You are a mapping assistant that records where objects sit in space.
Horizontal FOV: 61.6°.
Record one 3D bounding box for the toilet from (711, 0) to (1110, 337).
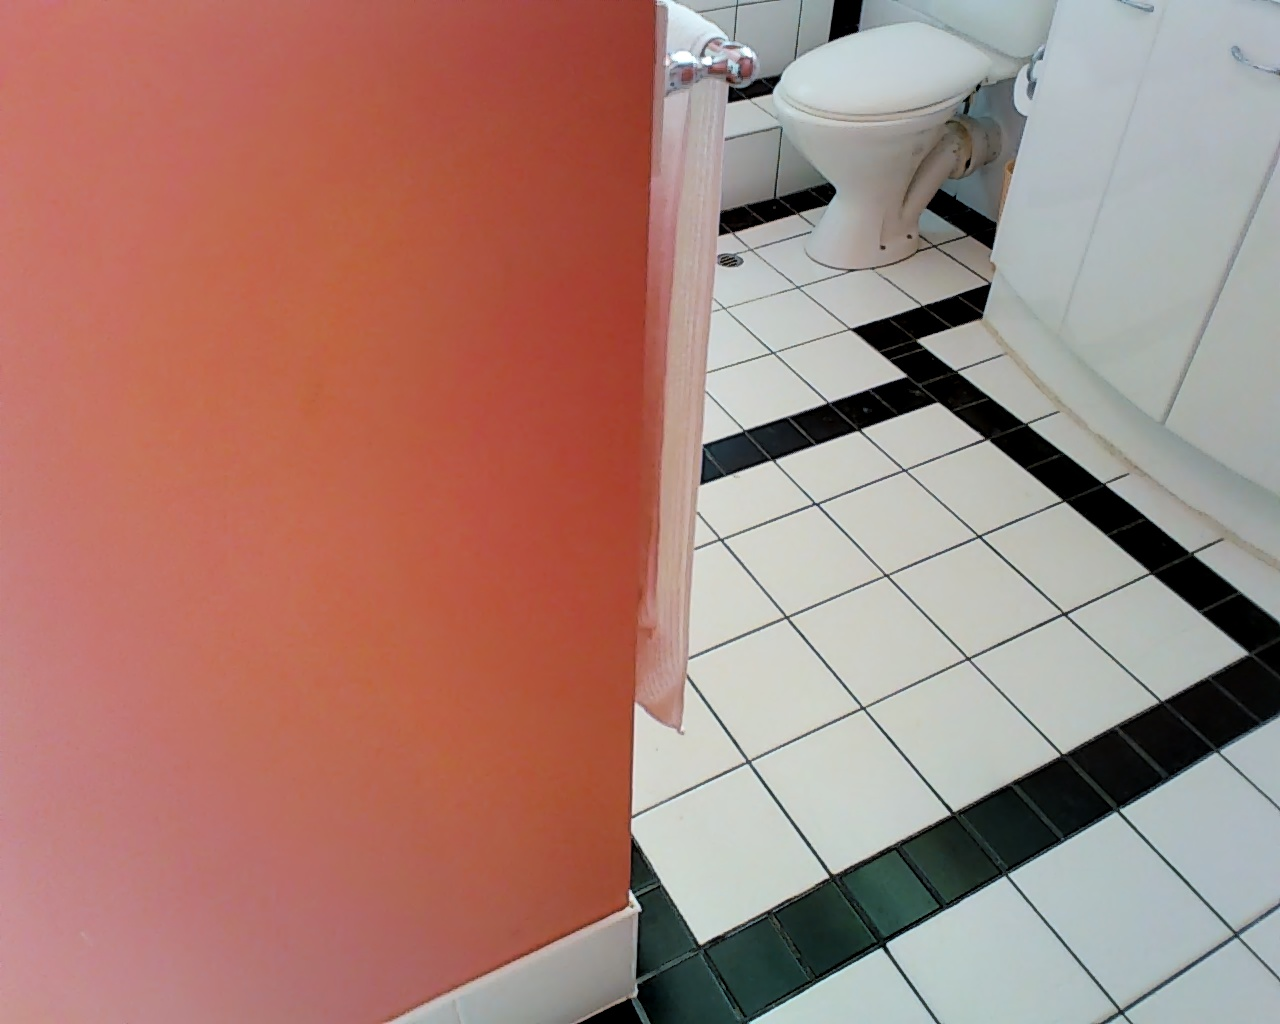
[{"bbox_3d":[0.580,-0.950,2.380,0.650,0.880,0.440,-19,46,-22],"label":"toilet"}]
